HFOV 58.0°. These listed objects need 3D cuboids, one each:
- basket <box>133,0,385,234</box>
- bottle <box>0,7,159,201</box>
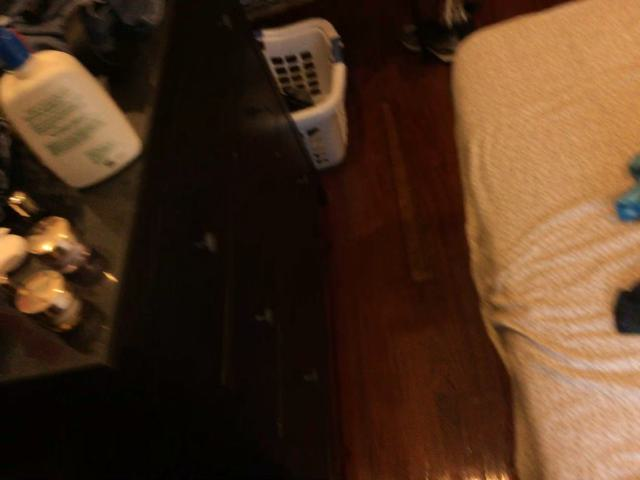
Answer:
[{"bbox_3d":[-0.190,-0.450,1.910,0.660,0.360,0.620,-15,53,13],"label":"basket"},{"bbox_3d":[-0.270,-0.150,0.660,0.090,0.150,0.130,-15,53,13],"label":"bottle"}]
